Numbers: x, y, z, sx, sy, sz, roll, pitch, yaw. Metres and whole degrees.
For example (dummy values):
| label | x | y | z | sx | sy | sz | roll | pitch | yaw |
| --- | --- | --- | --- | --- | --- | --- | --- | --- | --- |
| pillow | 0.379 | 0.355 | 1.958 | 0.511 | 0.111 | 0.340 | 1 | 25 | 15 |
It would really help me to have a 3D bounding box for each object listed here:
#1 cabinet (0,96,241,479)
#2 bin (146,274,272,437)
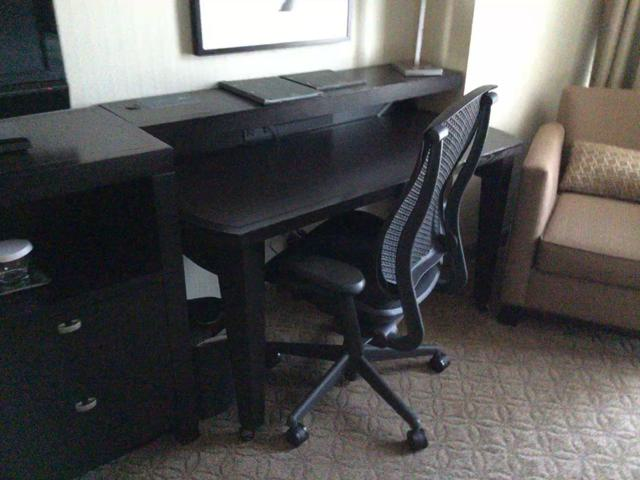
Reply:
| label | x | y | z | sx | sy | sz | roll | pitch | yaw |
| --- | --- | --- | --- | --- | --- | --- | --- | --- | --- |
| cabinet | -0.910 | 0.230 | 1.530 | 1.260 | 0.960 | 0.570 | -20 | 34 | -37 |
| bin | -0.370 | 0.370 | 1.940 | 0.230 | 0.330 | 0.390 | -20 | 34 | -37 |
